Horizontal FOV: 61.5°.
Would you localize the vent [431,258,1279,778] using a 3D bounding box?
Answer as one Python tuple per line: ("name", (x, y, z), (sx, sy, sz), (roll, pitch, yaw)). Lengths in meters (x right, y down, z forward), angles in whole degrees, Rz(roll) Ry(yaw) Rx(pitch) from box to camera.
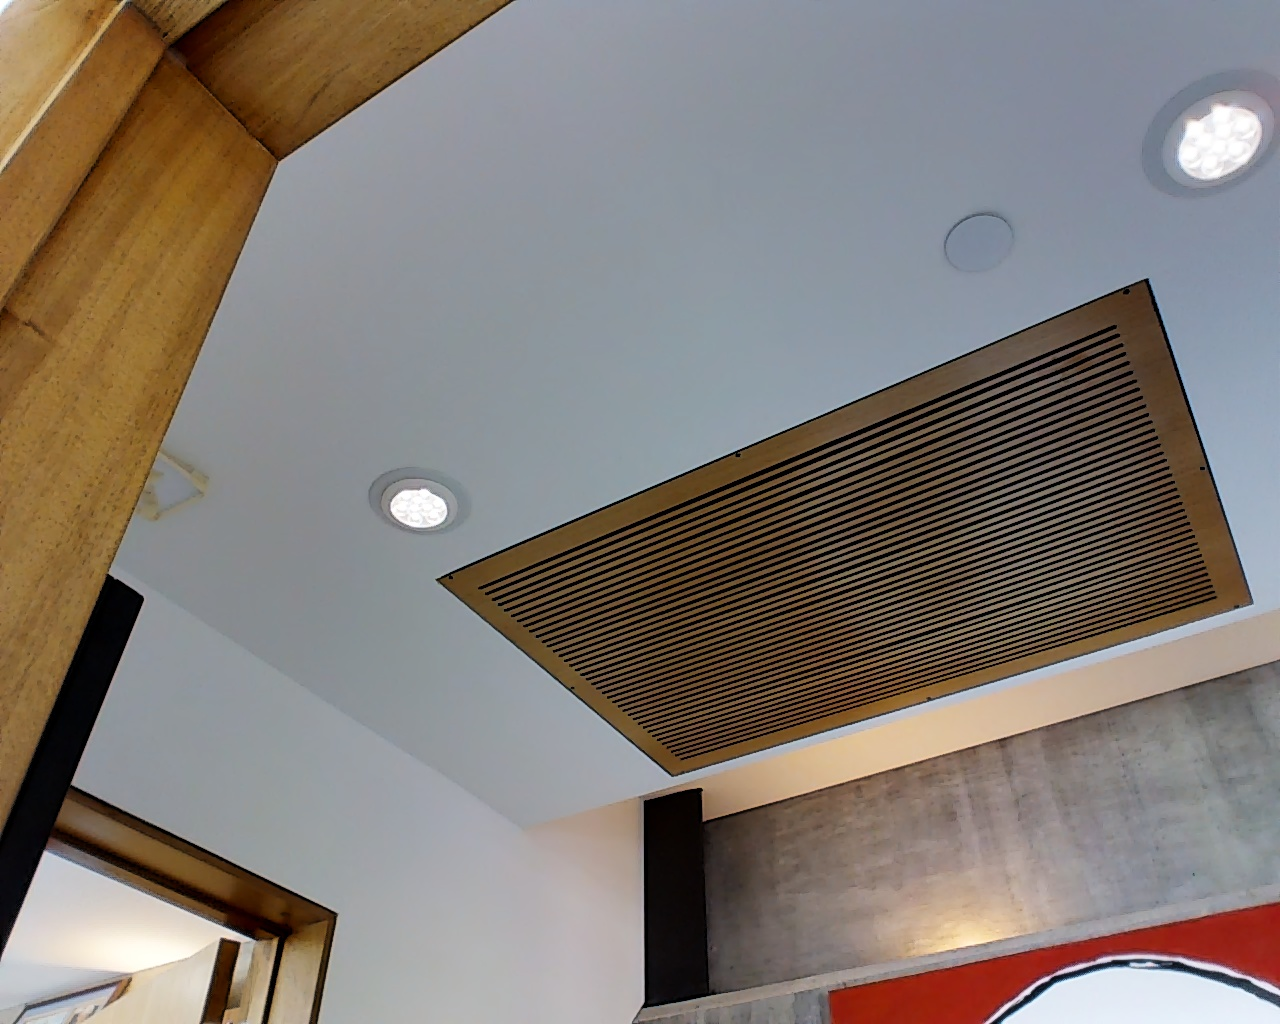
("vent", (0.400, 0.140, 1.910), (1.240, 0.020, 0.890), (-23, -44, 23))
